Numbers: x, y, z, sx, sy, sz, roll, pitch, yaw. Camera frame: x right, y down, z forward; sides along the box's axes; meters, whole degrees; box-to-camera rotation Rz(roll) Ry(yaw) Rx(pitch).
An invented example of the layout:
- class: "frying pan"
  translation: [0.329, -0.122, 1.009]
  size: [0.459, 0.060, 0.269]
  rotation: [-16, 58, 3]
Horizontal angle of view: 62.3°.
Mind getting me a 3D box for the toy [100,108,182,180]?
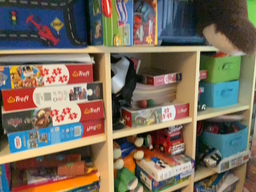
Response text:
- class: "toy"
  translation: [0.050, 0.190, 0.950]
  size: [0.280, 0.190, 0.230]
  rotation: [-7, 13, -28]
